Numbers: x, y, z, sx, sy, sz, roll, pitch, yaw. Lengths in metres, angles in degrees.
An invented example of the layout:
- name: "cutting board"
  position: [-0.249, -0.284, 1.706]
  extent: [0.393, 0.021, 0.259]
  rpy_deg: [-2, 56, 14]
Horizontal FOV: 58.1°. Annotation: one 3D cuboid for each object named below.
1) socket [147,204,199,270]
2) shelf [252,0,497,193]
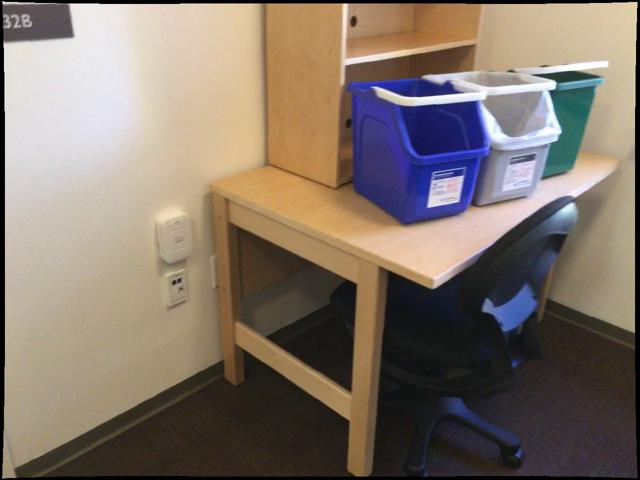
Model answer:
- name: "socket"
  position: [-0.449, -0.010, 1.770]
  extent: [0.060, 0.160, 0.130]
  rpy_deg: [25, 36, 38]
- name: "shelf"
  position: [0.209, -0.672, 1.950]
  extent: [0.360, 0.762, 0.819]
  rpy_deg: [26, 36, 38]
